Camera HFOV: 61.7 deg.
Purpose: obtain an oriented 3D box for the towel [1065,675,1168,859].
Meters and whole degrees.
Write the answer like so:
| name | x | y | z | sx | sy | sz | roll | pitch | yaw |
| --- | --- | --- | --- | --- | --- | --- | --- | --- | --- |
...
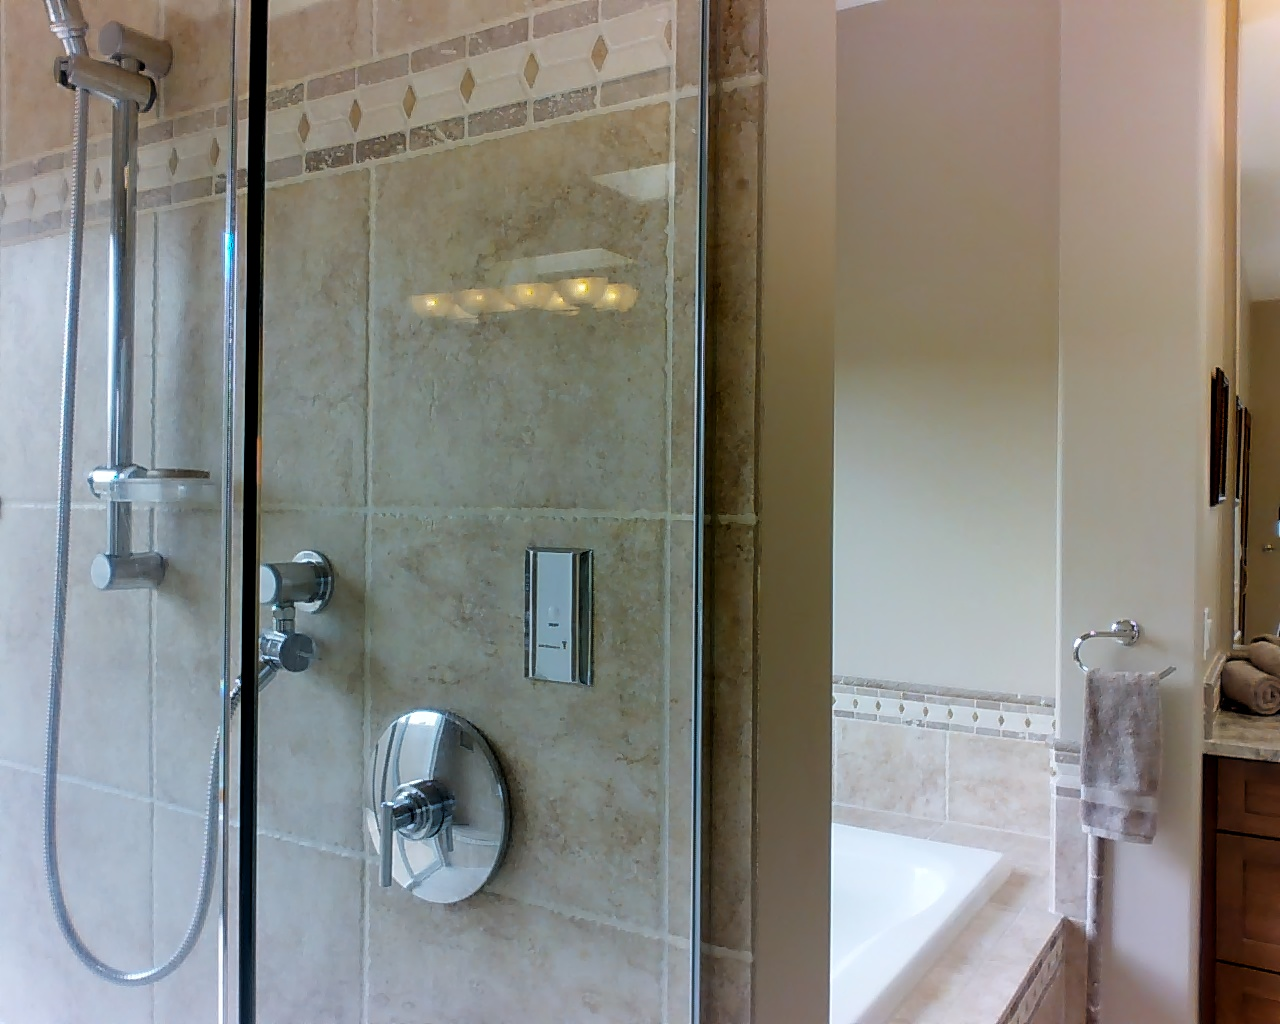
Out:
| name | x | y | z | sx | sy | sz | roll | pitch | yaw |
| --- | --- | --- | --- | --- | --- | --- | --- | --- | --- |
| towel | 1.080 | 0.570 | 2.430 | 0.200 | 0.370 | 0.100 | 0 | 0 | 31 |
